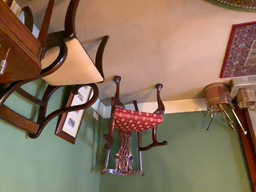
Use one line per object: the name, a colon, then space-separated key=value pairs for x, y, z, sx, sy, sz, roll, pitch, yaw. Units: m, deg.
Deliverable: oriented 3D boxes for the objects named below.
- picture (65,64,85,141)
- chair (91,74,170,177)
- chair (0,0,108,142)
picture: x=-0.530 y=0.080 z=2.160 sx=0.050 sy=0.730 sz=0.320 roll=-5 pitch=165 yaw=11
chair: x=-0.020 y=0.410 z=2.550 sx=0.610 sy=0.960 sz=0.810 roll=10 pitch=151 yaw=-19
chair: x=-0.500 y=-0.200 z=1.460 sx=0.550 sy=0.870 sz=0.510 roll=-7 pitch=152 yaw=13
